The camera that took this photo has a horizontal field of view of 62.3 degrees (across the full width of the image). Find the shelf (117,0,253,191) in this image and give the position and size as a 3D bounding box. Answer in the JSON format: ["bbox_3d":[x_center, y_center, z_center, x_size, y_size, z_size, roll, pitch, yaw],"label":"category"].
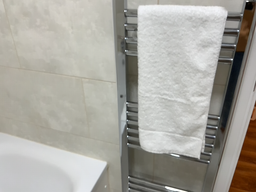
[{"bbox_3d":[0.170,0.260,0.940,0.380,1.290,0.060,9,31,18],"label":"shelf"}]
